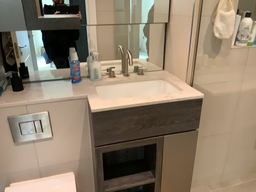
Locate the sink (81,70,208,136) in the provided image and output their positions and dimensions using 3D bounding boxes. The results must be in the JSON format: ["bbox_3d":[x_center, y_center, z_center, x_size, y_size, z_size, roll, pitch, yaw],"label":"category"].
[{"bbox_3d":[0.060,0.000,1.290,0.620,0.150,0.480,-7,23,-15],"label":"sink"}]

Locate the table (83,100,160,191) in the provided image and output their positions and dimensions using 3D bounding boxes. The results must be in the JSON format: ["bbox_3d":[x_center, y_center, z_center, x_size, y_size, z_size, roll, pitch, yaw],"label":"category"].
[{"bbox_3d":[-0.070,0.450,1.430,0.360,0.680,0.480,-7,23,-15],"label":"table"}]
